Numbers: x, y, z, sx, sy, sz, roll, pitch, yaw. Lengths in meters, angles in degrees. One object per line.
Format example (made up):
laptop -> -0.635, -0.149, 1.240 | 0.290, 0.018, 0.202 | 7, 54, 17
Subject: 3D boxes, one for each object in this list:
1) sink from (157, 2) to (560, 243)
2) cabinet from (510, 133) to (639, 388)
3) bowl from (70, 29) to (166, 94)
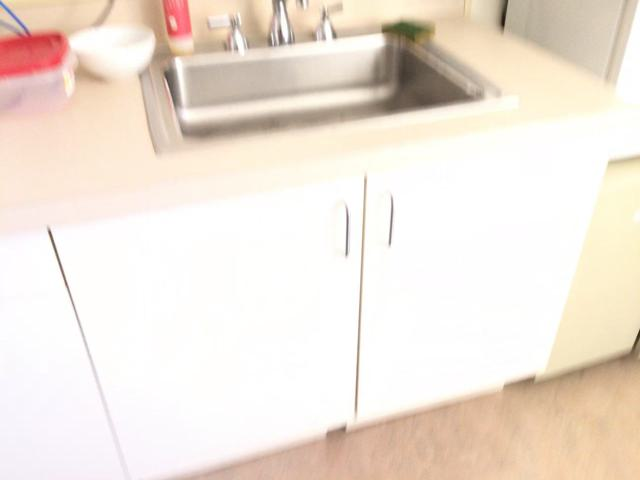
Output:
sink -> 0.020, -0.290, 1.190 | 0.630, 0.250, 0.560 | -8, 35, -15
cabinet -> 0.880, 0.040, 1.460 | 0.670, 0.640, 0.130 | -8, 35, -15
bowl -> -0.400, -0.360, 1.150 | 0.160, 0.060, 0.210 | -8, 35, -15
